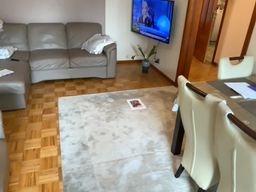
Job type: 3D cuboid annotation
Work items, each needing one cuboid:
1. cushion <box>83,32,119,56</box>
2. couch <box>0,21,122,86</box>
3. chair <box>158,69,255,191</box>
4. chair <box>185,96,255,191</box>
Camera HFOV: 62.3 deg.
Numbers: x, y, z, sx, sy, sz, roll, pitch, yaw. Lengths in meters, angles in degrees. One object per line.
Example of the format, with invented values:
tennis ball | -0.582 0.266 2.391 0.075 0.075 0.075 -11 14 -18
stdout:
cushion | -0.500 -0.960 3.840 0.520 0.280 0.550 -8 29 -20
couch | -1.360 -0.810 3.750 2.310 0.850 0.900 -5 29 -16
chair | 0.630 0.320 1.670 0.540 0.930 0.430 -6 29 -18
chair | 0.750 0.520 1.290 0.540 0.930 0.450 -6 29 -18
